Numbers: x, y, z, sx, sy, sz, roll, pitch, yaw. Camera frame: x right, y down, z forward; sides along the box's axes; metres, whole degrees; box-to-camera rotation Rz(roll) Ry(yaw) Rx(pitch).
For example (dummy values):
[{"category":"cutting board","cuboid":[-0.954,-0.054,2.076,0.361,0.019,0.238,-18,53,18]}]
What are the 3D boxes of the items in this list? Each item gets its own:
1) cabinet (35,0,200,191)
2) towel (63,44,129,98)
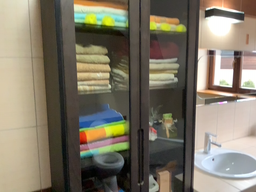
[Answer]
[{"category":"cabinet","cuboid":[-0.050,0.370,1.290,0.780,2.010,0.470,-5,9,-28]},{"category":"towel","cuboid":[-0.180,-0.140,1.160,0.270,0.250,0.260,-6,9,-30]}]
